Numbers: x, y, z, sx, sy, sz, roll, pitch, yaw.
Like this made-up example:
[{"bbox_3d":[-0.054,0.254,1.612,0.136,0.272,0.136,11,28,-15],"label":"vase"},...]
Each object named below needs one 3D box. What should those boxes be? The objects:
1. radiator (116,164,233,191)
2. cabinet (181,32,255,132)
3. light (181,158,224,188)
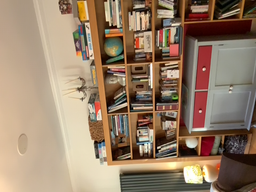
[{"bbox_3d":[0.740,1.460,3.540,0.140,1.840,0.620,-93,0,-63],"label":"radiator"},{"bbox_3d":[1.200,-0.180,2.690,0.460,0.900,1.120,-95,1,-68],"label":"cabinet"},{"bbox_3d":[1.110,1.160,3.200,0.250,0.530,0.320,-93,0,-68],"label":"light"}]
